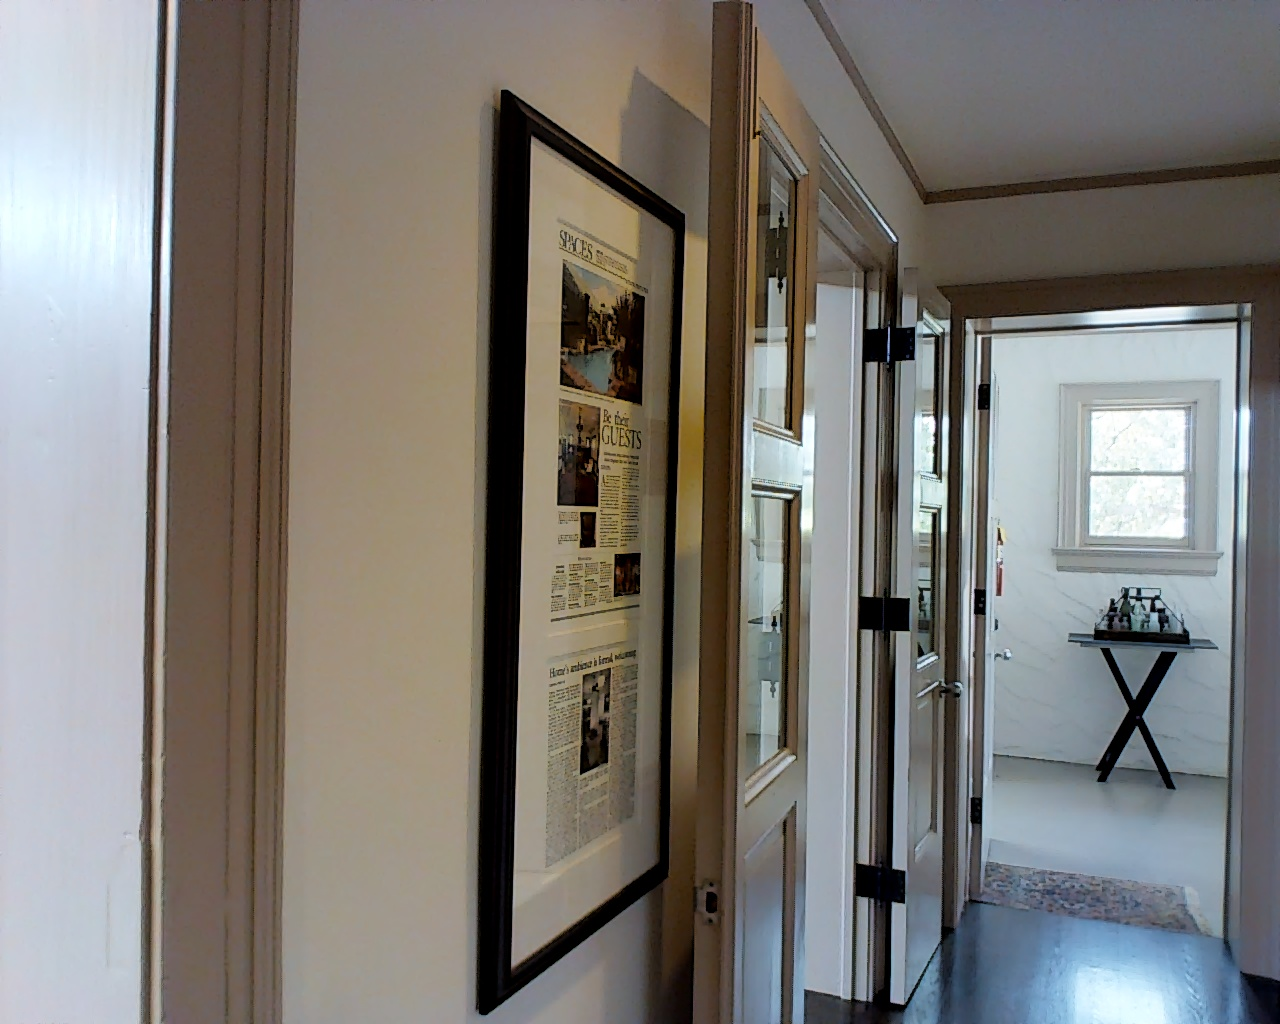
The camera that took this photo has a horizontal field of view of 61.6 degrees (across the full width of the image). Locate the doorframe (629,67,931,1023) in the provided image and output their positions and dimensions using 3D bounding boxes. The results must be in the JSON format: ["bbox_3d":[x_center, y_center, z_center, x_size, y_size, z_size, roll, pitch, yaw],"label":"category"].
[{"bbox_3d":[0.440,0.310,2.800,0.370,2.350,1.390,1,0,23],"label":"doorframe"}]

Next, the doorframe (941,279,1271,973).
[{"bbox_3d":[1.680,0.370,3.940,1.020,2.310,0.360,1,0,23],"label":"doorframe"}]

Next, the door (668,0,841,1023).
[{"bbox_3d":[0.220,0.320,1.930,0.100,2.330,0.620,1,0,23],"label":"door"}]

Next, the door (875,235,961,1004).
[{"bbox_3d":[0.940,0.330,3.590,0.140,2.350,0.610,1,0,23],"label":"door"}]
